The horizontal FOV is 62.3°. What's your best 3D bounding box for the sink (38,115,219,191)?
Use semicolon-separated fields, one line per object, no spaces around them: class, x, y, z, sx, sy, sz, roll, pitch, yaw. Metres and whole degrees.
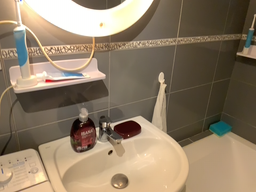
sink;-0.010;0.270;0.790;0.510;0.130;0.410;-12;28;-32
